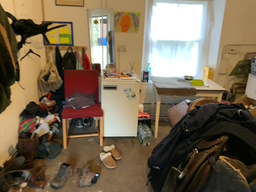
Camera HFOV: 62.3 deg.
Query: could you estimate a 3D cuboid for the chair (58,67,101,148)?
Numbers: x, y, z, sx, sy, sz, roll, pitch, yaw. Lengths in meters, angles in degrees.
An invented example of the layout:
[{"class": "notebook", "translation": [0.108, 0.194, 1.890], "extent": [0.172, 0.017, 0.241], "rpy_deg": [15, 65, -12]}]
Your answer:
[{"class": "chair", "translation": [-0.620, 0.120, 2.830], "extent": [0.480, 0.930, 0.550], "rpy_deg": [-2, 18, -11]}]
